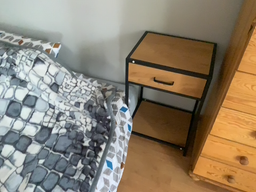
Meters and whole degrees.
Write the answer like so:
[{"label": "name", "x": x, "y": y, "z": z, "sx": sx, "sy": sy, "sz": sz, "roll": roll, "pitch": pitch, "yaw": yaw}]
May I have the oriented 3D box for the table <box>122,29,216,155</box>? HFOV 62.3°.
[{"label": "table", "x": 0.230, "y": -0.020, "z": 1.340, "sx": 0.430, "sy": 0.610, "sz": 0.380, "roll": 15, "pitch": 44, "yaw": 14}]
